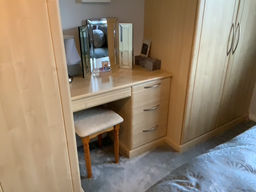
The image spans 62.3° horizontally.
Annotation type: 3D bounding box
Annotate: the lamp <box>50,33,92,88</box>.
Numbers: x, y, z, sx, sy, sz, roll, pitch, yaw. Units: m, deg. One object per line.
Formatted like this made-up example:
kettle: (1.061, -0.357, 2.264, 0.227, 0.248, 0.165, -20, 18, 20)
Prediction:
lamp: (-0.430, -0.280, 1.610, 0.210, 0.350, 0.210, -16, 29, -32)

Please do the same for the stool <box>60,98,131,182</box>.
stool: (-0.270, 0.350, 1.820, 0.450, 0.470, 0.370, -15, 29, -31)
